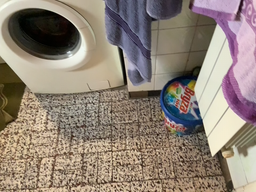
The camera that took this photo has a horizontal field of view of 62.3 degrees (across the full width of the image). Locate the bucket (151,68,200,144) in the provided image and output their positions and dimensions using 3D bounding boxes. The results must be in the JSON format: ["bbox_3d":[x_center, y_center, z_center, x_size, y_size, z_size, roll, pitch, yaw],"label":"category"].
[{"bbox_3d":[0.220,0.060,1.080,0.160,0.290,0.270,-5,59,1],"label":"bucket"}]

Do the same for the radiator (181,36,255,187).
[{"bbox_3d":[0.350,0.100,0.740,0.150,0.490,0.320,-12,60,-4],"label":"radiator"}]
